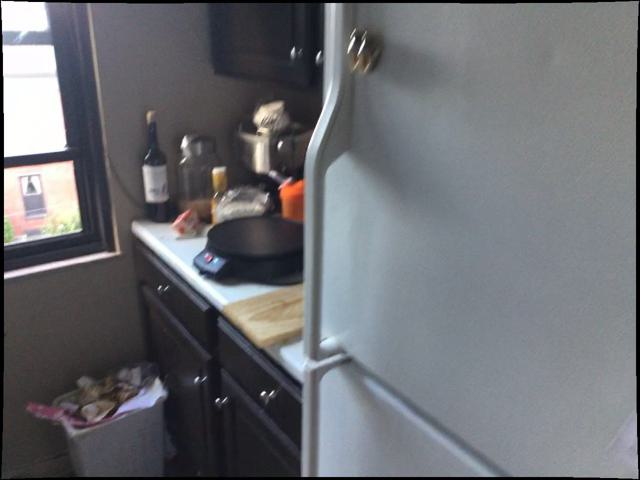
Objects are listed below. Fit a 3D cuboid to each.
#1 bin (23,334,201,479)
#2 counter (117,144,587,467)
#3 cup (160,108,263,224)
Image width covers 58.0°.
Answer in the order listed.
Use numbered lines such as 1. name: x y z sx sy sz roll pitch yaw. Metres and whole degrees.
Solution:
1. bin: -0.668 0.621 1.900 0.439 0.421 0.270 -16 31 -32
2. counter: -0.020 0.020 1.570 0.659 0.180 1.179 -16 31 -32
3. cup: -0.349 -0.251 1.890 0.260 0.301 0.180 -16 31 -32
